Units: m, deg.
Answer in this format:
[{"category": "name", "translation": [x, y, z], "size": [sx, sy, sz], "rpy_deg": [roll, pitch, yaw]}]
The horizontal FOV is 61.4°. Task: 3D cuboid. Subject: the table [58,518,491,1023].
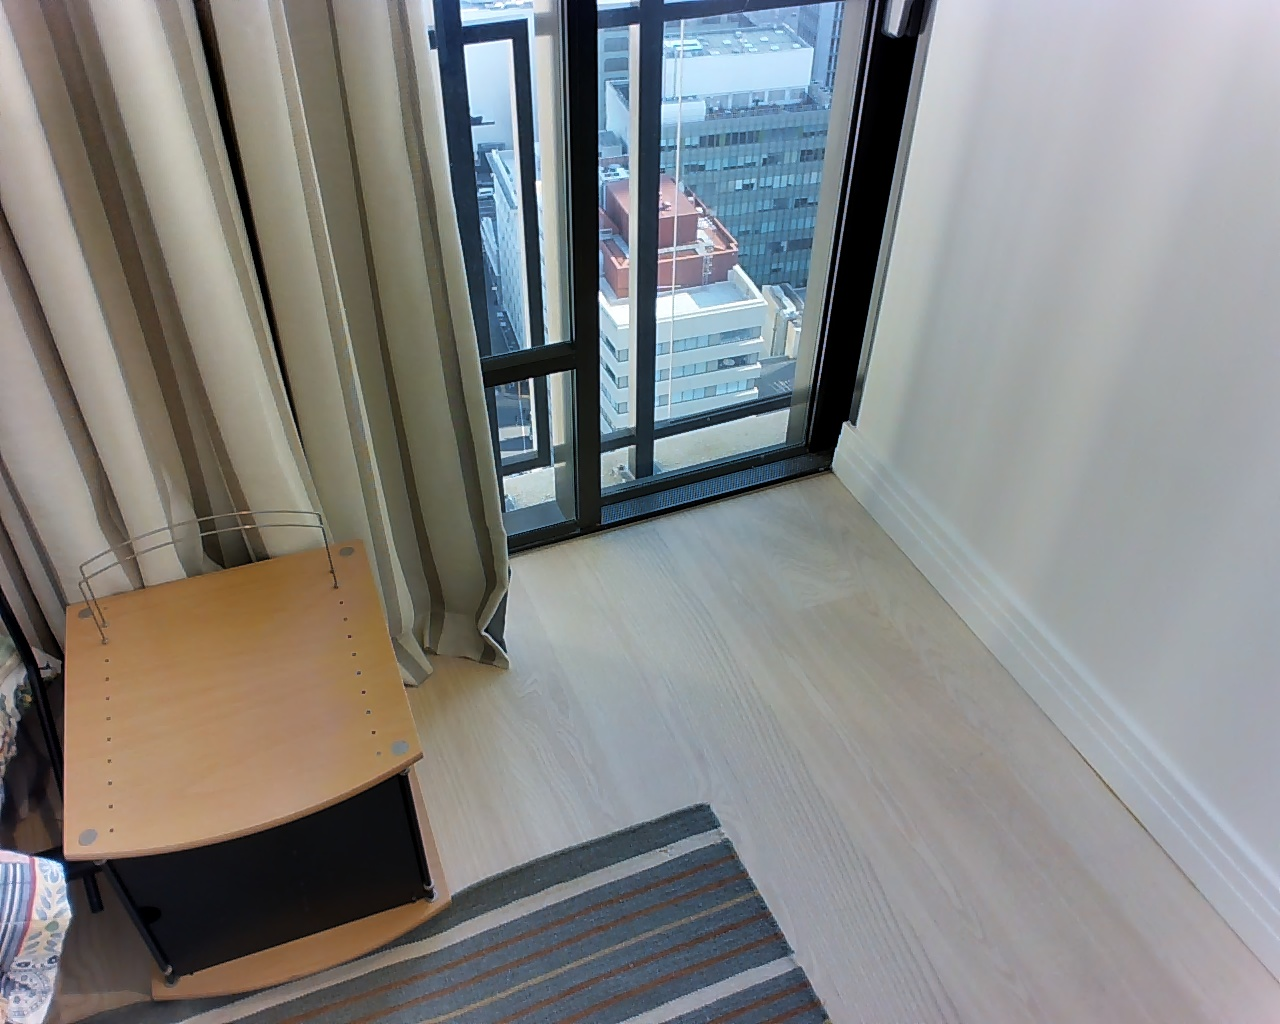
[{"category": "table", "translation": [-0.470, 0.320, 1.410], "size": [0.420, 0.350, 0.420], "rpy_deg": [-15, 44, -18]}]
